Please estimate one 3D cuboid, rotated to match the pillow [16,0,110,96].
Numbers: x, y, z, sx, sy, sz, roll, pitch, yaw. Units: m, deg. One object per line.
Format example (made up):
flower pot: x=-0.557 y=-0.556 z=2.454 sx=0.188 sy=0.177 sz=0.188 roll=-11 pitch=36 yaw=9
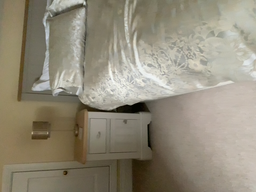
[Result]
pillow: x=-0.520 y=-0.420 z=1.820 sx=0.140 sy=0.440 sz=0.710 roll=-21 pitch=105 yaw=45
